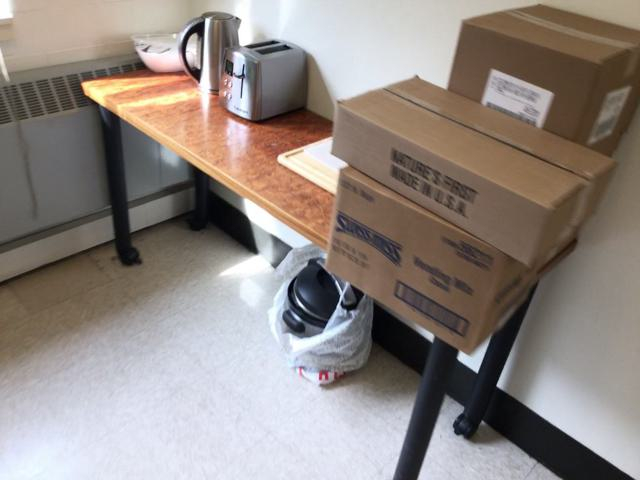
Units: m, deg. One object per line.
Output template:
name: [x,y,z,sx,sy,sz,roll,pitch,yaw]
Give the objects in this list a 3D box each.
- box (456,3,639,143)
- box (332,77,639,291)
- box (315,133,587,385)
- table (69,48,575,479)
box: [0.480,-0.340,1.120,0.270,0.160,0.310,31,39,33]
box: [0.280,-0.130,1.030,0.430,0.170,0.270,31,39,33]
box: [0.240,0.010,1.140,0.370,0.280,0.300,31,39,33]
table: [-0.140,0.000,1.810,1.470,0.770,0.520,31,39,33]
